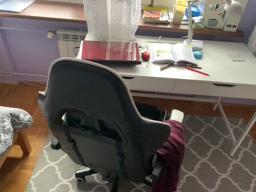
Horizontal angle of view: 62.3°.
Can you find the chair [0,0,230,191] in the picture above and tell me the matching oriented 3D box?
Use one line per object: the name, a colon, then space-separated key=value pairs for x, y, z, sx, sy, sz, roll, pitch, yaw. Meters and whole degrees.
chair: x=-0.070 y=0.170 z=1.200 sx=0.730 sy=1.220 sz=0.710 roll=13 pitch=41 yaw=9
